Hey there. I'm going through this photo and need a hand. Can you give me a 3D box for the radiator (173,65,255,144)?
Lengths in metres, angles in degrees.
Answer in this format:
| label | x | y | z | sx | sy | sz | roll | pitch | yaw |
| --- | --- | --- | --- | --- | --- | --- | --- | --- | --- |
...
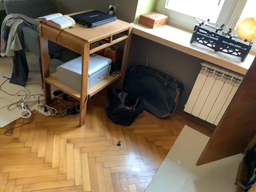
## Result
| label | x | y | z | sx | sy | sz | roll | pitch | yaw |
| --- | --- | --- | --- | --- | --- | --- | --- | --- | --- |
| radiator | 0.920 | 0.080 | 2.190 | 0.750 | 0.510 | 0.230 | 25 | 36 | 16 |
